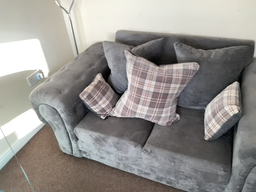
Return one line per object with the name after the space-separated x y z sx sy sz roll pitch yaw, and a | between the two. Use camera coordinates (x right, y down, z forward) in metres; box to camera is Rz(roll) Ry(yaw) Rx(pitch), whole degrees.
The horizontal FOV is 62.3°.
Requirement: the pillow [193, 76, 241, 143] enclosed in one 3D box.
0.550 0.080 1.310 0.130 0.280 0.280 27 42 7 | pillow

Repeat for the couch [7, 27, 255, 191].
0.230 0.050 1.600 1.710 0.740 0.930 10 39 20 | couch

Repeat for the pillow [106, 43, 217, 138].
0.190 -0.020 1.370 0.550 0.430 0.210 19 41 -1 | pillow

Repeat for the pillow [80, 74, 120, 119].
-0.200 0.000 1.540 0.090 0.220 0.280 38 41 -2 | pillow
